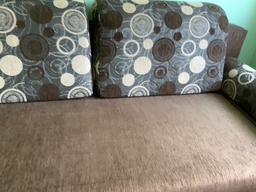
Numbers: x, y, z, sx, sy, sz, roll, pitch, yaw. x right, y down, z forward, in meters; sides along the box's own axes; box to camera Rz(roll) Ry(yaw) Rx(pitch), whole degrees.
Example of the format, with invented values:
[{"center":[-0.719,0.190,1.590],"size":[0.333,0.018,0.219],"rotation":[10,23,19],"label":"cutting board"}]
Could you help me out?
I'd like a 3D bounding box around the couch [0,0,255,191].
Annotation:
[{"center":[-0.160,0.040,1.000],"size":[2.000,0.850,0.950],"rotation":[-3,33,-14],"label":"couch"}]
